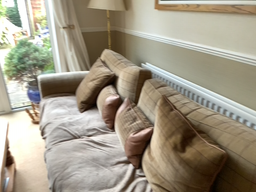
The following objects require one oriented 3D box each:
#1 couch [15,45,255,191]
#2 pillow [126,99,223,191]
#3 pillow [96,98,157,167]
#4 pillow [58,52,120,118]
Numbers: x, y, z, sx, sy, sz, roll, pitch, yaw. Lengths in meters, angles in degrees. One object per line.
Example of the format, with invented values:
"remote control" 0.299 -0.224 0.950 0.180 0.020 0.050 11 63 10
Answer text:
"couch" -0.130 0.290 1.690 1.140 0.920 2.400 -10 25 -22
"pillow" 0.180 0.310 1.070 0.170 0.430 0.470 -3 23 -23
"pillow" -0.030 0.250 1.520 0.210 0.330 0.360 15 14 -29
"pillow" -0.430 -0.140 2.220 0.210 0.550 0.530 43 -1 -31
